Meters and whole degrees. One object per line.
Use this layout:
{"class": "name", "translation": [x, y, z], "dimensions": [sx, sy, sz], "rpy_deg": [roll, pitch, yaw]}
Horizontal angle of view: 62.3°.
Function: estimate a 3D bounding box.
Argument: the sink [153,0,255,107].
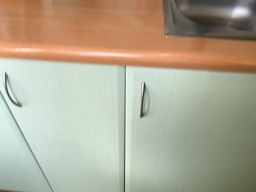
{"class": "sink", "translation": [0.290, -0.210, 0.630], "dimensions": [0.410, 0.160, 0.510], "rpy_deg": [5, 44, 3]}
